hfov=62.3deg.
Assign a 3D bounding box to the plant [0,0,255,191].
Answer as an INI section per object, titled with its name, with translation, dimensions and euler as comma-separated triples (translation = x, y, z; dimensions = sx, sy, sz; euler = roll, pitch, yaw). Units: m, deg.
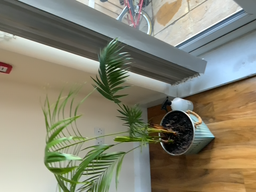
[plant]
translation = 0.030, 0.190, 1.110
dimensions = 0.880, 1.130, 0.600
euler = -22, 63, 48
